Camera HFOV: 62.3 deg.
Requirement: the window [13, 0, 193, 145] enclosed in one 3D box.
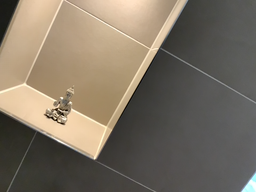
[{"bbox_3d":[-0.060,-0.200,0.670,0.350,0.640,0.070,29,11,-5],"label":"window"}]
